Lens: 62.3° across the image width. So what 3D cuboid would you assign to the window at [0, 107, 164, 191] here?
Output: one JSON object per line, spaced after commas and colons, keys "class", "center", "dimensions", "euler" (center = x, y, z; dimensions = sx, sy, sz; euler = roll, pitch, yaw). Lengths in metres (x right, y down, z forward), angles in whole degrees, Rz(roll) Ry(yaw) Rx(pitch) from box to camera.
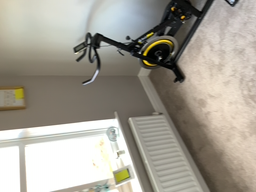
{"class": "window", "center": [-0.550, 0.810, 1.830], "dimensions": [1.410, 1.590, 0.400], "euler": [65, 146, 37]}
